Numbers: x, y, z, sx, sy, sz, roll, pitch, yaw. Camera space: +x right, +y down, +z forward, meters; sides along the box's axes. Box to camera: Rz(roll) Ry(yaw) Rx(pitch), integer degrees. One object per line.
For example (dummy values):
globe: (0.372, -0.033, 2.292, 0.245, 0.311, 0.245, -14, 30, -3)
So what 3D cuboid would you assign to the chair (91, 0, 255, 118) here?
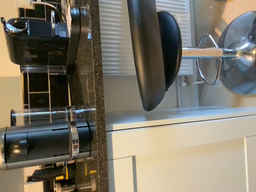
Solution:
chair: (0.290, -0.200, 1.030, 0.540, 0.810, 0.490, -177, 85, -66)
